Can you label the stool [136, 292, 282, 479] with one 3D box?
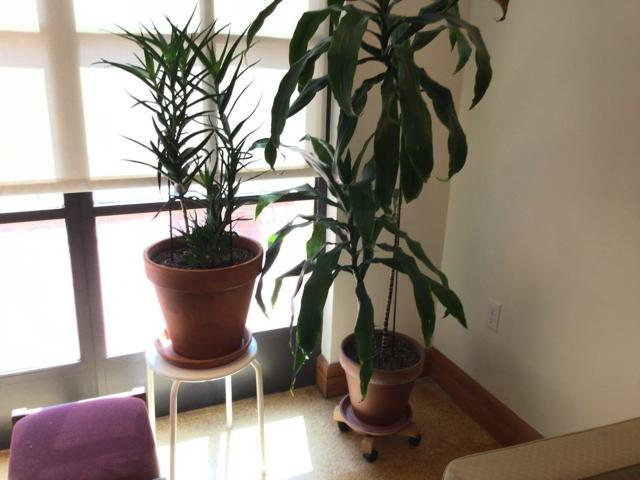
[{"bbox_3d":[-0.400,0.520,2.020,0.390,0.490,0.500,-5,17,-22],"label":"stool"}]
